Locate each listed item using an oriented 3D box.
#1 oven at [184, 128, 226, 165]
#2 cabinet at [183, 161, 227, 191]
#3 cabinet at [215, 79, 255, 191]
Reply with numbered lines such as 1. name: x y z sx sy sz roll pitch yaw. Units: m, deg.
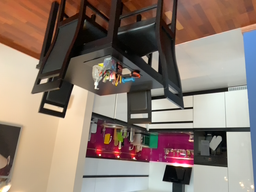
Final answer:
1. oven: 1.490 0.980 4.110 0.600 0.610 0.620 -7 160 35
2. cabinet: 1.430 1.590 3.930 0.600 0.660 0.640 -7 160 35
3. cabinet: 1.980 0.840 3.790 0.600 2.110 0.640 -7 160 35
